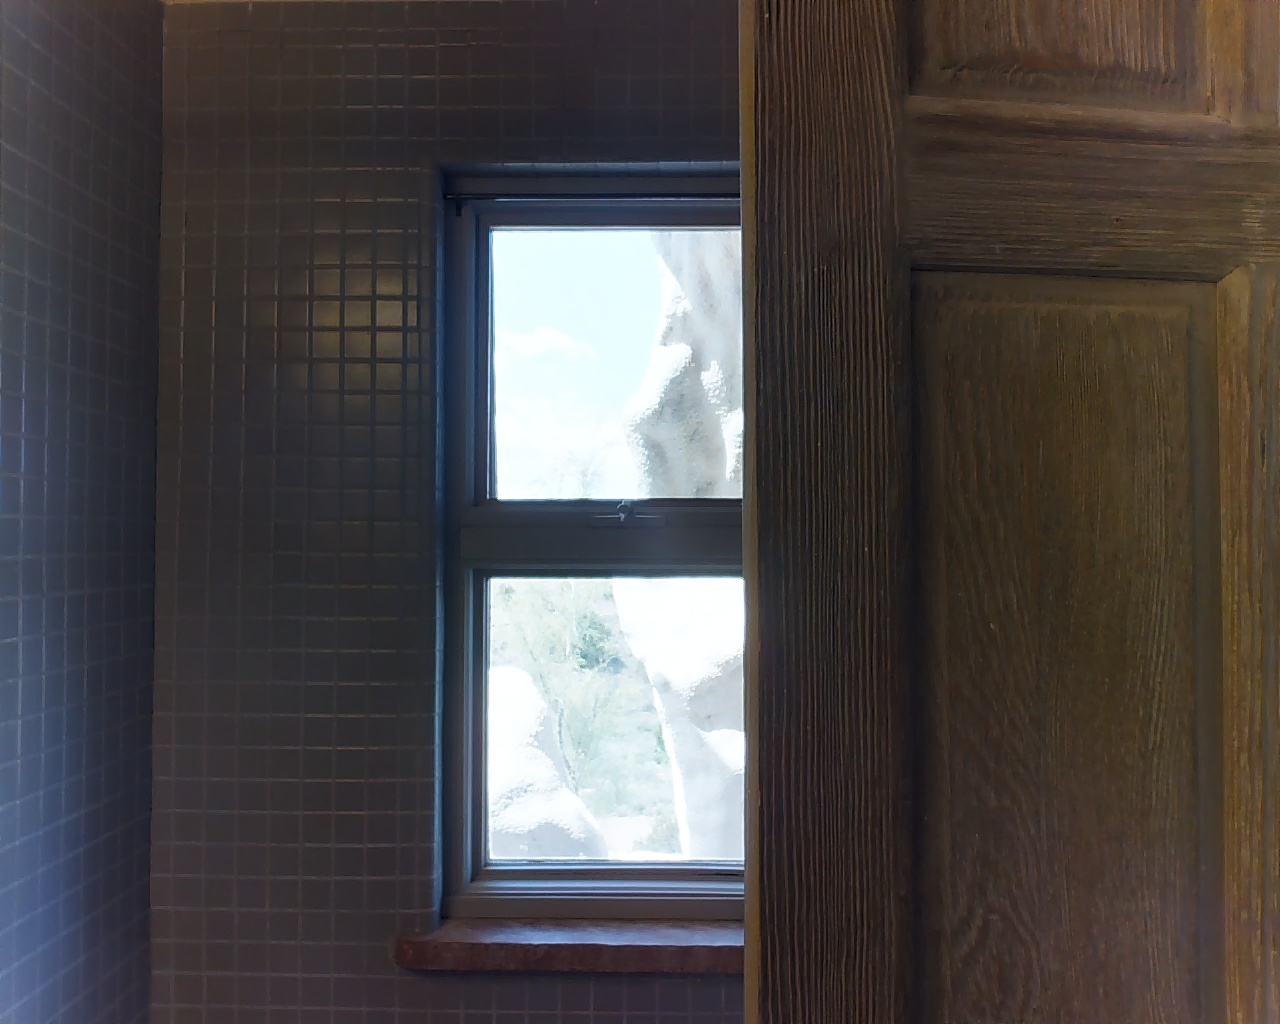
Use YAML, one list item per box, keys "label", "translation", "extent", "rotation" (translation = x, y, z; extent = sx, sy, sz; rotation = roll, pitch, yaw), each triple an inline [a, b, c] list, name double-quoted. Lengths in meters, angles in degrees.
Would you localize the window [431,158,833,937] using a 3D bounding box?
- label: "window"
  translation: [-0.010, 0.050, 1.760]
  extent: [0.630, 1.230, 0.120]
  rotation: [0, -2, 1]
